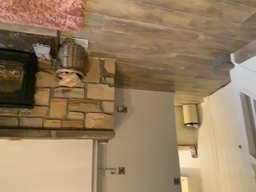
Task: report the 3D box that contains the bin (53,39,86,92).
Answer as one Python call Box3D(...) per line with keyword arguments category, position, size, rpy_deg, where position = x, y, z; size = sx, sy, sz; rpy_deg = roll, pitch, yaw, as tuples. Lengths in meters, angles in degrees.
Box3D(category="bin", position=(-0.630, -0.310, 2.260), size=(0.290, 0.440, 0.320), rpy_deg=(4, 164, -18))
